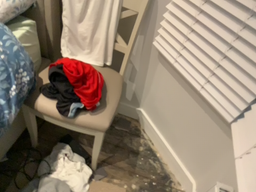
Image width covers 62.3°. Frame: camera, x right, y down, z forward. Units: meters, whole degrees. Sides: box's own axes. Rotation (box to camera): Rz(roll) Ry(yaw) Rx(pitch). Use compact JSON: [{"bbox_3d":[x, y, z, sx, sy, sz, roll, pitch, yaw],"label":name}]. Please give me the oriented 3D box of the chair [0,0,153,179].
[{"bbox_3d":[-0.270,-0.090,1.160,0.500,0.970,0.560,19,45,3],"label":"chair"}]
